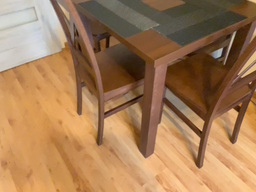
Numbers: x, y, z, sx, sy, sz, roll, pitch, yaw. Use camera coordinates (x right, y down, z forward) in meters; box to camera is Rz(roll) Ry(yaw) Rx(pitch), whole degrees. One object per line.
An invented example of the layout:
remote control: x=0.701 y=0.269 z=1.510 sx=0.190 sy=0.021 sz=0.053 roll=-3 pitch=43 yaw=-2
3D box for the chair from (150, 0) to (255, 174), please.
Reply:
chair: x=0.470 y=-0.090 z=1.170 sx=0.410 sy=0.970 sz=0.470 roll=-26 pitch=51 yaw=-25

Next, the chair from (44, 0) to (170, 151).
chair: x=-0.110 y=-0.180 z=1.270 sx=0.460 sy=0.950 sz=0.390 roll=-25 pitch=50 yaw=-24
